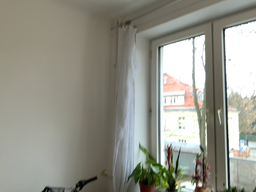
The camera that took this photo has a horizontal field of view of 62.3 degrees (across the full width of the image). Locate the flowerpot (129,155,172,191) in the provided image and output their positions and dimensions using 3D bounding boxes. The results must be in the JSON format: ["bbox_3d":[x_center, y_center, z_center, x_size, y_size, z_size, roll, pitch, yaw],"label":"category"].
[{"bbox_3d":[0.230,0.850,2.170,0.310,0.400,0.300,6,-7,-44],"label":"flowerpot"}]

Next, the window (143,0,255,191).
[{"bbox_3d":[0.790,0.140,1.910,1.490,1.780,0.220,-4,-7,44],"label":"window"}]
